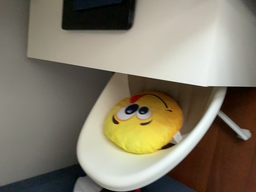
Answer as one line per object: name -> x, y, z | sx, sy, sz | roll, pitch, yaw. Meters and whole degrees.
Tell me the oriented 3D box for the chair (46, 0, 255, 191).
chair -> 0.160, 0.010, 0.990 | 0.610, 0.800, 0.590 | 11, 99, 42
